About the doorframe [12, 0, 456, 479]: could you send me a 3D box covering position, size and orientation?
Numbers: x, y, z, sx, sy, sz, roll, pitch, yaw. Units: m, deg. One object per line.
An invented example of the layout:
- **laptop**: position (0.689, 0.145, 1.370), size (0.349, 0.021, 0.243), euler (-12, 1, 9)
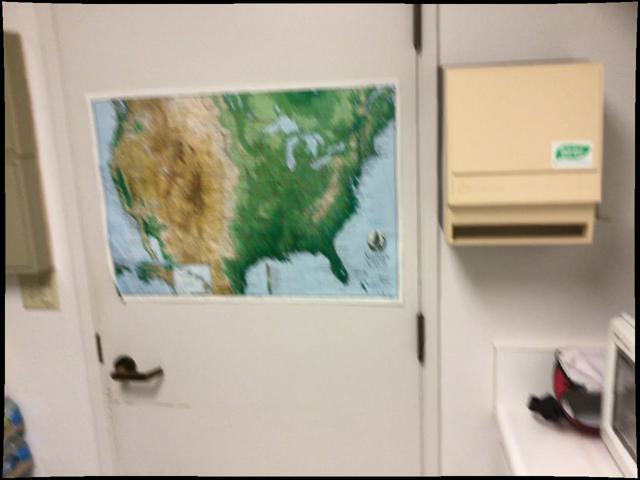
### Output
- **doorframe**: position (-0.180, 0.270, 1.560), size (1.049, 2.092, 0.080), euler (-2, 12, 9)

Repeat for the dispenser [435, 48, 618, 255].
- **dispenser**: position (0.430, -0.190, 1.270), size (0.330, 0.390, 0.240), euler (-2, 12, 9)
